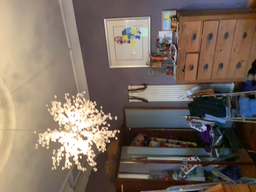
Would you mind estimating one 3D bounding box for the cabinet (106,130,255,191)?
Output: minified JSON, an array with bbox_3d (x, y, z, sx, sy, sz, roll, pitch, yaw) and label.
[{"bbox_3d":[0.930,1.170,3.960,1.340,2.440,0.320,-78,-14,-64],"label":"cabinet"}]
